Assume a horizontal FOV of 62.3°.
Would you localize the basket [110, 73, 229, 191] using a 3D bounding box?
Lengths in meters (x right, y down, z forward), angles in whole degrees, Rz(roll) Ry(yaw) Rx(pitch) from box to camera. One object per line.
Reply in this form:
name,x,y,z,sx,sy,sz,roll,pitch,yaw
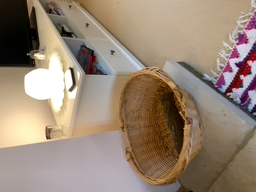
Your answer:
basket,0.140,0.130,0.900,0.340,0.240,0.320,53,134,41
